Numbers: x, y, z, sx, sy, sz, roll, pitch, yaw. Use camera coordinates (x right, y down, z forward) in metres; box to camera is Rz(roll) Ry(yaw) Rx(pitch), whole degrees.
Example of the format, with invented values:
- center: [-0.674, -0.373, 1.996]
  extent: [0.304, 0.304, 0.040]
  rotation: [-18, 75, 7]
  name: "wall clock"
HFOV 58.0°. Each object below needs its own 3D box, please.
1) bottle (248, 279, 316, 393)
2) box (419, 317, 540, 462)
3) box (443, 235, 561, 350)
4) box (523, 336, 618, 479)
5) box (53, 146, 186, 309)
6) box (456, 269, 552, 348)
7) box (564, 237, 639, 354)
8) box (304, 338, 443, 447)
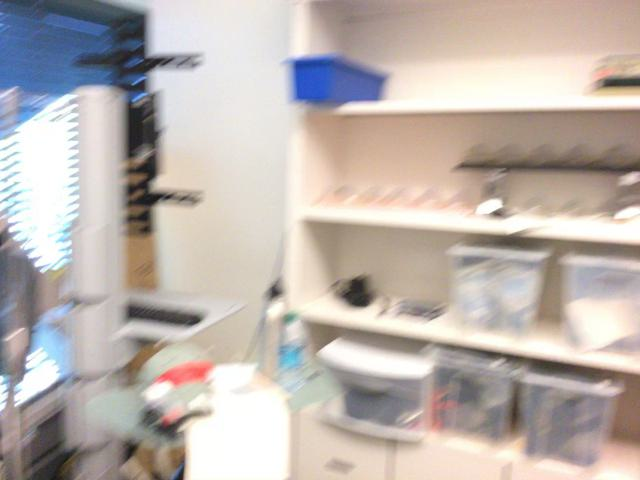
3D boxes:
- center: [-0.100, 0.250, 1.540]
  extent: [0.130, 0.270, 0.110]
  rotation: [1, 6, 29]
  name: "bottle"
- center: [0.550, 0.480, 1.960]
  extent: [0.320, 0.340, 0.350]
  rotation: [1, 6, 29]
  name: "box"
- center: [0.600, 0.150, 1.880]
  extent: [0.300, 0.300, 0.340]
  rotation: [1, 6, 29]
  name: "box"
- center: [0.800, 0.510, 1.830]
  extent: [0.240, 0.310, 0.350]
  rotation: [1, 6, 29]
  name: "box"
- center: [-0.900, -0.070, 2.630]
  extent: [0.370, 0.670, 0.380]
  rotation: [1, 6, 29]
  name: "box"
- center: [0.610, 0.210, 1.890]
  extent: [0.230, 0.170, 0.360]
  rotation: [1, 6, 29]
  name: "box"
- center: [0.900, 0.150, 1.720]
  extent: [0.280, 0.280, 0.340]
  rotation: [1, 6, 29]
  name: "box"
- center: [0.200, 0.530, 2.090]
  extent: [0.400, 0.240, 0.320]
  rotation: [1, 6, 29]
  name: "box"
